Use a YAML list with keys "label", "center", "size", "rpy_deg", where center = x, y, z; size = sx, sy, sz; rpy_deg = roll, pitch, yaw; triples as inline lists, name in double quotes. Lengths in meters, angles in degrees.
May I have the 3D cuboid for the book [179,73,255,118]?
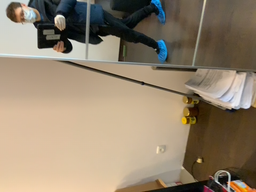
- label: "book"
  center: [0.660, -0.020, 1.580]
  size: [0.430, 0.340, 0.210]
  rpy_deg: [-143, 56, -63]
